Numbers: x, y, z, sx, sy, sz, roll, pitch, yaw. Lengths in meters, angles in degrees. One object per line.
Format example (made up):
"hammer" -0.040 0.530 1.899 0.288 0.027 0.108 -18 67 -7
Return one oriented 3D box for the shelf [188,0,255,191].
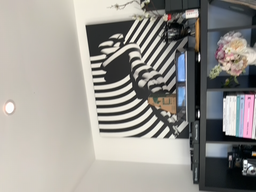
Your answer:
"shelf" 1.190 -0.090 1.320 0.410 1.540 1.560 -51 -42 -69
